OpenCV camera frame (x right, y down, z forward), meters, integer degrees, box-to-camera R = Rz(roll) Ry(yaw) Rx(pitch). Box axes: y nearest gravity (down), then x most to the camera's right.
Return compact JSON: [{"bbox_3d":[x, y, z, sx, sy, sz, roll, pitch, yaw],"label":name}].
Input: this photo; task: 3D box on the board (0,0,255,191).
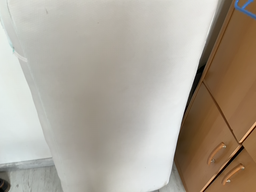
[{"bbox_3d":[-0.040,0.100,0.970,0.720,1.200,0.350,-5,47,-10],"label":"board"}]
